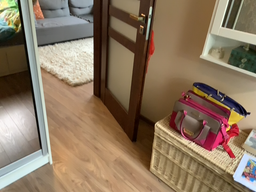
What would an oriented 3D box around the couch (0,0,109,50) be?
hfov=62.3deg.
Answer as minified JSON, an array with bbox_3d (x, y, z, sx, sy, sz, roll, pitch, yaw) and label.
[{"bbox_3d":[-1.420,-1.590,4.410,0.950,0.710,1.850,30,38,35],"label":"couch"}]

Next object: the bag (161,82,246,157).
[{"bbox_3d":[0.530,0.140,1.520,0.420,0.260,0.340,27,36,31],"label":"bag"}]

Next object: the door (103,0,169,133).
[{"bbox_3d":[0.020,-0.680,1.850,0.190,1.830,0.880,-6,32,-20],"label":"door"}]
